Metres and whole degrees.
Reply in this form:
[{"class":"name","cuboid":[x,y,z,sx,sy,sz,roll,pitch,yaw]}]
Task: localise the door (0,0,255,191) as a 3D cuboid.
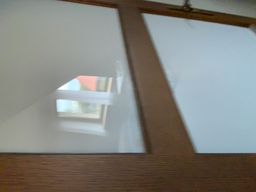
[{"class":"door","cuboid":[0.410,-0.050,0.740,0.970,2.130,0.130,-100,18,-45]}]
